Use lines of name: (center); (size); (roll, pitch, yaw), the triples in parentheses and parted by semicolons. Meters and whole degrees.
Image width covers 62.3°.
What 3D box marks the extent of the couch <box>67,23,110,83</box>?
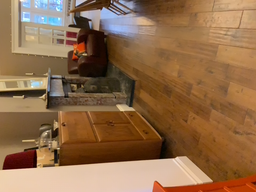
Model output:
couch: (-0.970, -0.960, 5.010); (0.920, 0.810, 0.960); (128, 139, -58)
